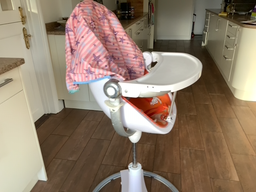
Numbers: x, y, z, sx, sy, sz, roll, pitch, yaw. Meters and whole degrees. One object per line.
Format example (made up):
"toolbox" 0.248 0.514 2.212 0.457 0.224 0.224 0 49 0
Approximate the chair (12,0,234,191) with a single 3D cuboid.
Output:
"chair" 0.030 0.160 1.070 0.600 1.170 0.610 6 26 13
